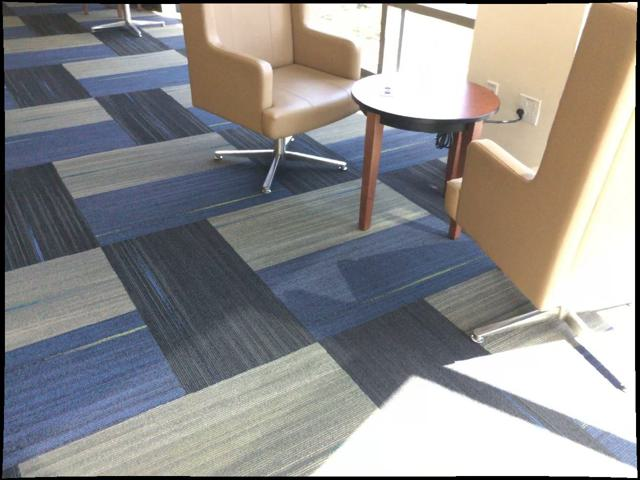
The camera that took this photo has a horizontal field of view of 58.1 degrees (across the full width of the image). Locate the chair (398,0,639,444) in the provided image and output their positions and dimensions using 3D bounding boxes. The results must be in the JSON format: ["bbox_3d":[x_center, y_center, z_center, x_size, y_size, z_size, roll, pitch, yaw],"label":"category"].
[{"bbox_3d":[0.848,-0.190,1.760,0.828,1.162,0.820,-10,34,-17],"label":"chair"}]

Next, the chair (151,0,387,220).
[{"bbox_3d":[-0.229,-0.872,2.790,0.729,1.152,0.799,27,40,34],"label":"chair"}]
